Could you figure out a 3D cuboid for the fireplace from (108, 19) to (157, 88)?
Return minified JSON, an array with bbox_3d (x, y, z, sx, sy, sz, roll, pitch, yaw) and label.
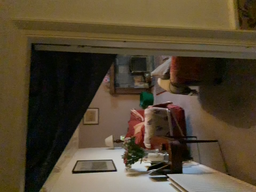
[{"bbox_3d":[0.100,-1.180,6.160,0.770,1.280,1.760,144,126,-78],"label":"fireplace"}]
